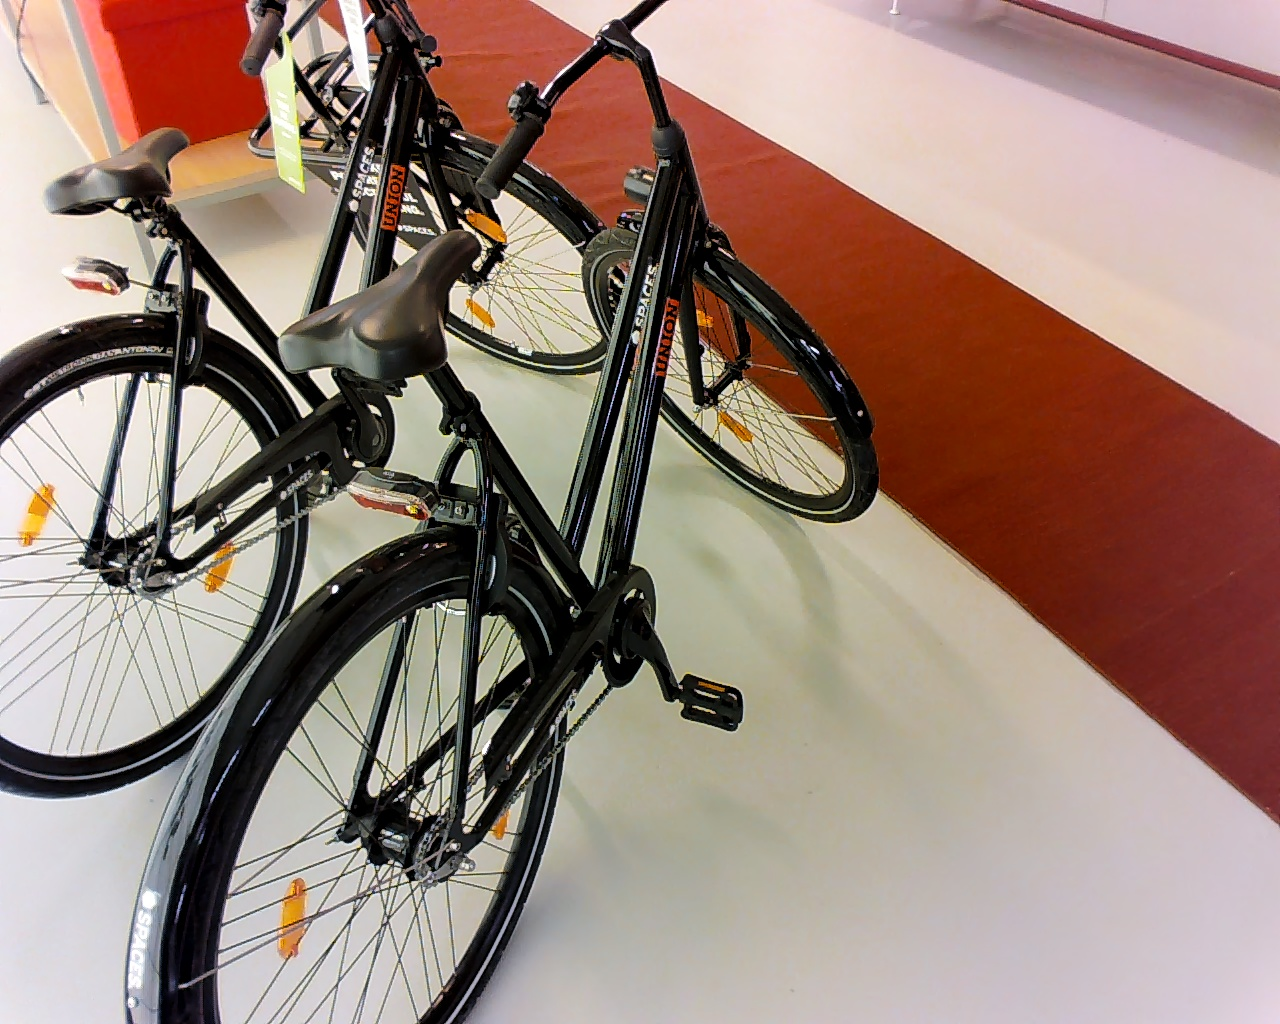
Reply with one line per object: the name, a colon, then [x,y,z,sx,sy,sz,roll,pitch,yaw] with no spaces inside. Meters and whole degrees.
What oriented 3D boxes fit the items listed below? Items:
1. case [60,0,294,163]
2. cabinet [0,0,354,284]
case: [-1.320,-1.320,3.030,0.430,0.400,0.490,-25,48,-25]
cabinet: [-1.920,-1.680,3.870,0.700,0.270,2.910,-23,47,-23]
